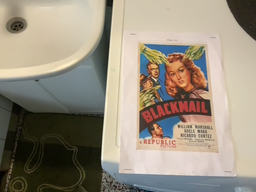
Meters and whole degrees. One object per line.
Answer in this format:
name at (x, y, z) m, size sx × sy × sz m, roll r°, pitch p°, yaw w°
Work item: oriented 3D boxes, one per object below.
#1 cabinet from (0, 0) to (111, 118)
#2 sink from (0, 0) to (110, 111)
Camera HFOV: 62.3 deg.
cabinet at (-0.340, -0.130, 0.980) m, size 0.480 × 0.730 × 0.310 m, roll 3°, pitch 73°, yaw -2°
sink at (-0.350, -0.190, 0.600) m, size 0.570 × 0.140 × 0.420 m, roll 3°, pitch 73°, yaw -2°
